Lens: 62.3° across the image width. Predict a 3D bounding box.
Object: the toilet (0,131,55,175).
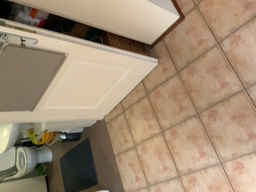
[{"bbox_3d":[-1.570,0.840,3.090,0.640,0.710,0.440,-30,67,41],"label":"toilet"}]
